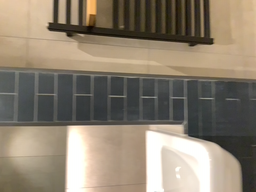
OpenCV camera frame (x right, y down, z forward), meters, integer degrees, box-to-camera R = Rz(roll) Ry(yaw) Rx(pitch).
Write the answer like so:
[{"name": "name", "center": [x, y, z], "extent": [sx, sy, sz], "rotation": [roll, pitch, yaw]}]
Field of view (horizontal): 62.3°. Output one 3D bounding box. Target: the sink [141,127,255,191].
[{"name": "sink", "center": [0.230, 0.420, 0.810], "extent": [0.540, 0.210, 0.550], "rotation": [165, 105, -76]}]
